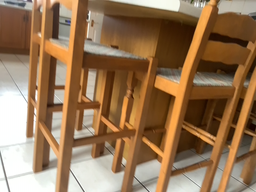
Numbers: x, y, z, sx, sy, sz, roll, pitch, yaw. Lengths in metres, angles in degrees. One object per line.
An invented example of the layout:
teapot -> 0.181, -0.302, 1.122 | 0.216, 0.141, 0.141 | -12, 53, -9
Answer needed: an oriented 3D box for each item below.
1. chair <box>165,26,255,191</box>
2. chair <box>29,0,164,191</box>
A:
chair -> 0.590, 0.080, 1.250 | 0.400, 0.860, 0.390 | -2, 20, -37
chair -> -0.190, -0.020, 0.940 | 0.350, 0.960, 0.390 | -2, 20, -36
